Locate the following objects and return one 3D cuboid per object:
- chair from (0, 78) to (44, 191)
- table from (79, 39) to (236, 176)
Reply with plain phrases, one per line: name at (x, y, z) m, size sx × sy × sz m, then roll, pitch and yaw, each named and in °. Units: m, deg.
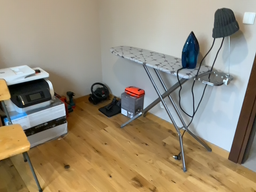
chair at (-0.960, 0.350, 1.570) m, size 0.390 × 0.780 × 0.540 m, roll -16°, pitch 30°, yaw -33°
table at (0.140, -0.040, 2.360) m, size 0.460 × 0.880 × 1.700 m, roll -20°, pitch 32°, yaw -39°
